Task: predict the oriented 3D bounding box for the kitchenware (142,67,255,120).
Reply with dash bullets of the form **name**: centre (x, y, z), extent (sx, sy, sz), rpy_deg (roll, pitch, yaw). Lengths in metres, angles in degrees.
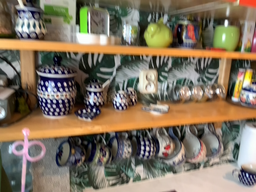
- **kitchenware**: centre (0.390, -0.020, 0.930), extent (0.630, 0.180, 0.150), rpy_deg (-1, 13, -19)
